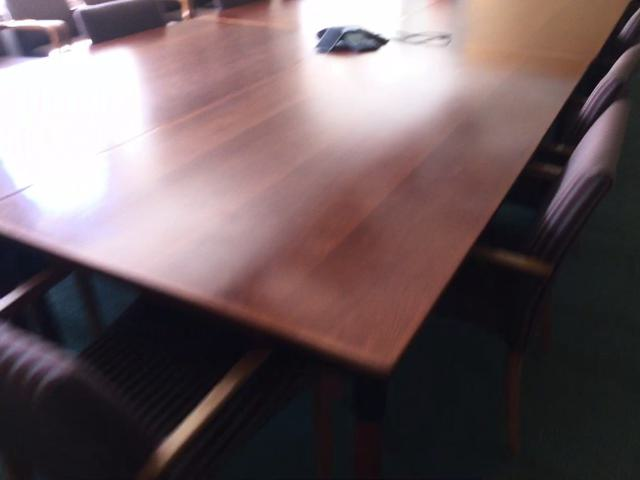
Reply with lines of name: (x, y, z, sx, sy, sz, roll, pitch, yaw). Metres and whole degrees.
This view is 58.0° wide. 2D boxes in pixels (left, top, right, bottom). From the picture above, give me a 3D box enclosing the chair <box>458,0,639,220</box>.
chair: (1.170, -0.690, 2.670, 0.750, 0.800, 0.660, 20, 39, 26)
